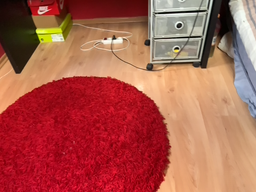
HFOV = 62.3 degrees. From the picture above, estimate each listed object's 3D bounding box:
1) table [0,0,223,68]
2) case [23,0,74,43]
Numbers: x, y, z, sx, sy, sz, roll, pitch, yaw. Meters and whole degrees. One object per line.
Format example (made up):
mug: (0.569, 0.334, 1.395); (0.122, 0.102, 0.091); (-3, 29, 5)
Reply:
table: (-0.190, -0.710, 1.610); (1.520, 0.680, 0.740); (0, 44, 5)
case: (-0.690, -0.780, 1.920); (0.220, 0.390, 0.470); (-2, 43, 3)
